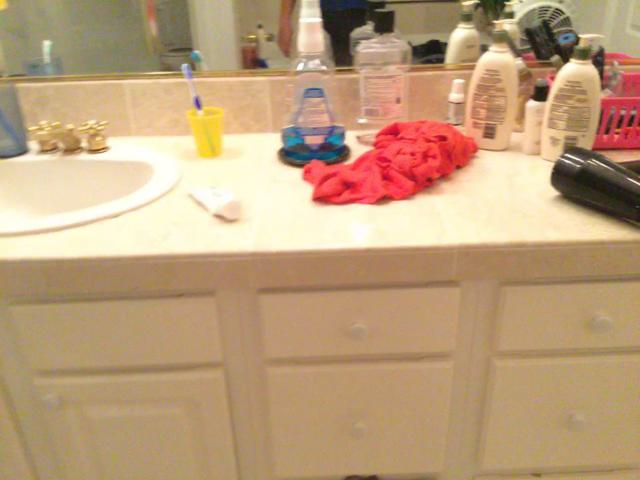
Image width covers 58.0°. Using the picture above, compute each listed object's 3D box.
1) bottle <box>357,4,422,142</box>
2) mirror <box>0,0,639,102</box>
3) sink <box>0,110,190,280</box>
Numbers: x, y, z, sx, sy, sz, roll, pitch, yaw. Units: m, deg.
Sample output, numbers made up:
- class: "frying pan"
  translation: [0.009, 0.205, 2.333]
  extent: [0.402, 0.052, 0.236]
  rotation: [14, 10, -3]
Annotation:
- class: "bottle"
  translation: [0.140, -0.350, 1.210]
  extent: [0.110, 0.260, 0.130]
  rotation: [-1, 24, 0]
- class: "mirror"
  translation: [0.230, -0.450, 1.230]
  extent: [2.290, 0.240, 0.270]
  rotation: [-1, 24, 0]
- class: "sink"
  translation: [-0.510, -0.110, 1.120]
  extent: [0.410, 0.190, 0.440]
  rotation: [-1, 24, 0]
